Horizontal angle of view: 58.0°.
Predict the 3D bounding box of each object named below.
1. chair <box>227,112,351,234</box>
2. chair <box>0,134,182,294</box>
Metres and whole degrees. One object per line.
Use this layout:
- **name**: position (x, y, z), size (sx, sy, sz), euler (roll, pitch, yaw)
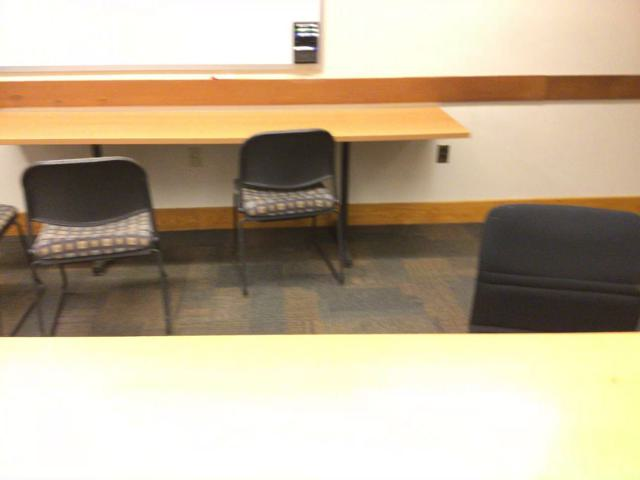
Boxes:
- **chair**: position (-0.150, -0.310, 2.600), size (0.510, 0.470, 0.300), euler (-2, 22, -8)
- **chair**: position (-0.850, -0.120, 2.250), size (0.550, 0.490, 0.430), euler (-2, 22, -8)
